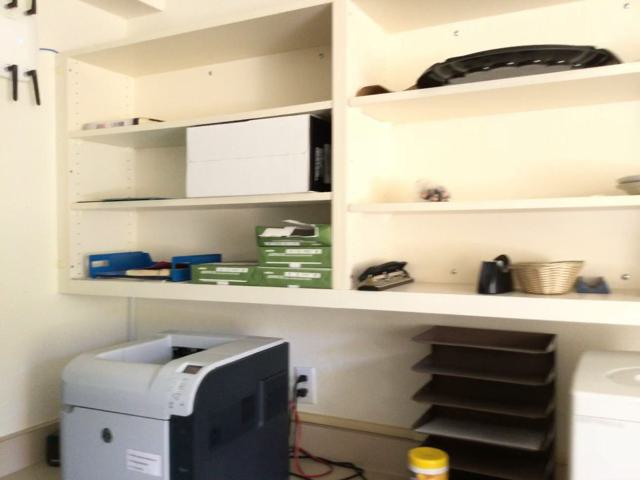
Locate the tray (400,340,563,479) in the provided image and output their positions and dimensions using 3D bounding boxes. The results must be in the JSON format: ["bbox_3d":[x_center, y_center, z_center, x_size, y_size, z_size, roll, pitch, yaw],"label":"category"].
[{"bbox_3d":[0.400,0.470,1.430,0.340,0.370,0.220,2,2,29],"label":"tray"}]

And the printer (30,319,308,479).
[{"bbox_3d":[-0.380,0.470,1.530,0.510,0.410,0.490,2,2,29],"label":"printer"}]
